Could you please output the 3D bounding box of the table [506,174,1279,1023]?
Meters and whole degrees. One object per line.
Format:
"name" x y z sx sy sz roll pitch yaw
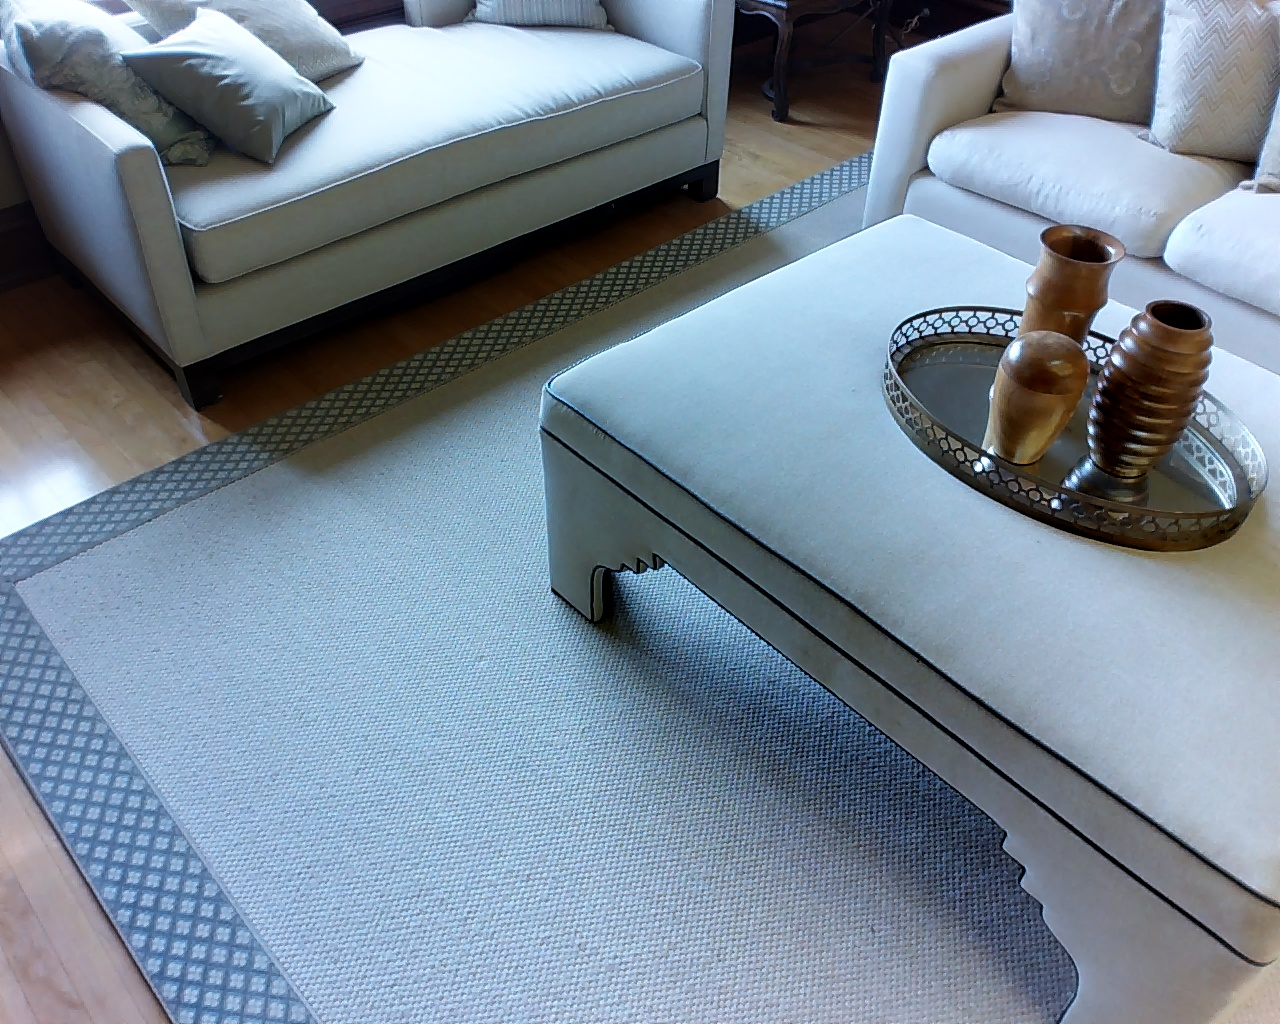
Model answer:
"table" 0.650 0.060 1.900 1.080 0.550 1.430 -32 52 -31
